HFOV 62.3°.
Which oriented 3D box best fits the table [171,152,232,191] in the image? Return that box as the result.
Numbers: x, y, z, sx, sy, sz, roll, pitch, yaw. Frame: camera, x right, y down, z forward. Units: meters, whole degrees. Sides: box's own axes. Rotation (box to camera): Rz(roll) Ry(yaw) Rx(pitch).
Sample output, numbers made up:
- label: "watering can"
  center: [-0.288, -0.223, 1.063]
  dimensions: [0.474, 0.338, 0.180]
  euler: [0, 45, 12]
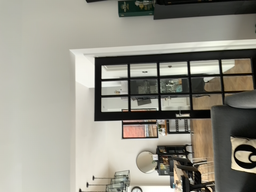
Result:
- label: "table"
  center: [1.410, 1.870, 4.430]
  dimensions: [1.830, 0.790, 0.970]
  euler: [28, -120, -84]
